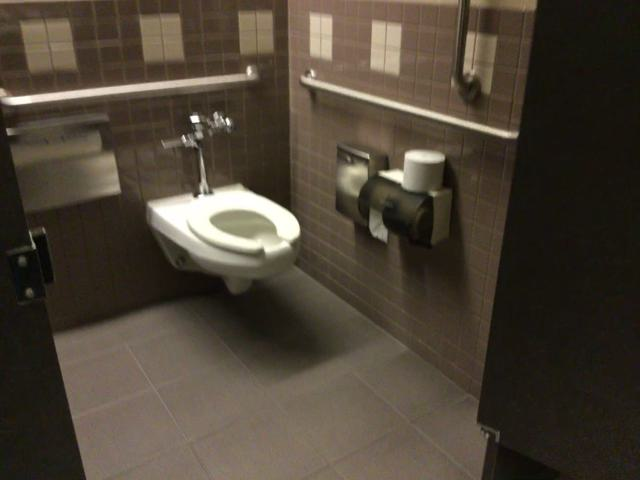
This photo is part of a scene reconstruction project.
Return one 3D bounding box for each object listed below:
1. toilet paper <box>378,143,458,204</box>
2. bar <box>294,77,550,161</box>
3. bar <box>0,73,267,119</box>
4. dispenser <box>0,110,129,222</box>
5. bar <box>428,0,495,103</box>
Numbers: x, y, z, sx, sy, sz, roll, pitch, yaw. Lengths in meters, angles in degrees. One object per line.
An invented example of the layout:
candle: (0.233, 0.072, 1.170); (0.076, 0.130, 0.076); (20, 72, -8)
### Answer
toilet paper: (0.300, -0.210, 1.790); (0.130, 0.130, 0.200); (-11, 26, -32)
bar: (0.240, -0.420, 1.860); (0.090, 0.080, 1.080); (-11, 26, -32)
bar: (-0.610, -0.520, 2.050); (0.910, 0.120, 0.080); (-11, 26, -32)
dispenser: (-0.870, -0.260, 1.980); (0.390, 0.340, 0.060); (-11, 26, -32)
bar: (0.390, -0.630, 1.540); (0.080, 0.500, 0.120); (-11, 26, -32)
